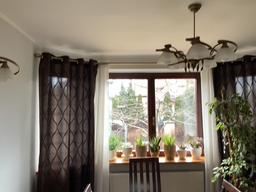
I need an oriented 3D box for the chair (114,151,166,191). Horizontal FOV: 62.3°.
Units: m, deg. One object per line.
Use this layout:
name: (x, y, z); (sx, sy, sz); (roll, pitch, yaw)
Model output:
chair: (0.150, 1.330, 2.880); (0.560, 1.020, 0.490); (0, -4, -18)
